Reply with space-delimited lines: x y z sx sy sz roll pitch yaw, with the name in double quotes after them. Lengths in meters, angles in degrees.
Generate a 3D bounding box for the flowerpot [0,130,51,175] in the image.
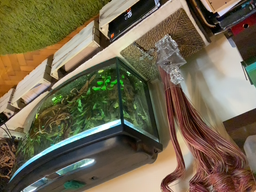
-0.950 0.500 1.810 0.340 0.170 0.420 -30 136 25 "flowerpot"
